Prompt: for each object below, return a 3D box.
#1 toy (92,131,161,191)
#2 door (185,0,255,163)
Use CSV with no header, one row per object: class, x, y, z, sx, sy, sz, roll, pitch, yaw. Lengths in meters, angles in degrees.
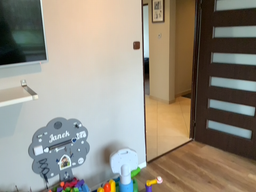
toy,-0.010,0.740,1.990,0.400,0.580,0.490,-16,22,-35
door,1.110,-0.270,2.420,0.150,1.900,0.910,-17,23,-37
